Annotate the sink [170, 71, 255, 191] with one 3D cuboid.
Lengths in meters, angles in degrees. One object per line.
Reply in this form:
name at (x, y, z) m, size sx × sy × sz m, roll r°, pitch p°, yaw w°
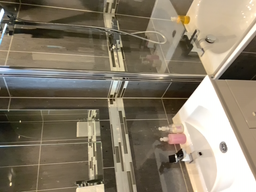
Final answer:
sink at (0.460, 0.260, 1.160) m, size 0.470 × 0.130 × 0.630 m, roll 111°, pitch 154°, yaw -52°
